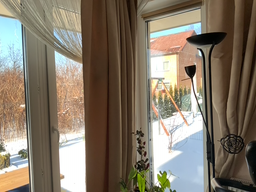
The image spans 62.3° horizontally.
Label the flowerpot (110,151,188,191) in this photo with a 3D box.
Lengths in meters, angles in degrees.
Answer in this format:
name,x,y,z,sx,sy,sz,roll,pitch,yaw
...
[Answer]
name,x,y,z,sx,sy,sz,roll,pitch,yaw
flowerpot,0.200,0.780,1.890,0.470,0.380,0.520,0,3,39
